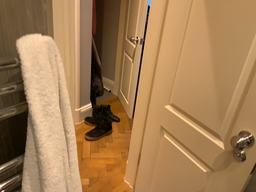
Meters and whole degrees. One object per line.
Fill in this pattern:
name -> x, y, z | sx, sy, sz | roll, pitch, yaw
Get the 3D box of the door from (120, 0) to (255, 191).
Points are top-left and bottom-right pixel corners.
door -> 0.280, -0.050, 0.980 | 0.050, 1.960, 0.730 | -13, 34, -34
